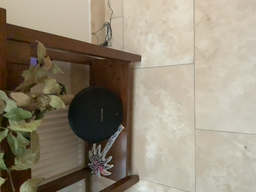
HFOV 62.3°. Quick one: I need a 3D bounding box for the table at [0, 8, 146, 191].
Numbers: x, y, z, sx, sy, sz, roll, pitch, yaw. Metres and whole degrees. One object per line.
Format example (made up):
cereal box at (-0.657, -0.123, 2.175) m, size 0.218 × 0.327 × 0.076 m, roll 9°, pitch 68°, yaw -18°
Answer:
table at (-0.280, 0.130, 0.970) m, size 0.380 × 0.740 × 0.750 m, roll 4°, pitch 94°, yaw 34°
